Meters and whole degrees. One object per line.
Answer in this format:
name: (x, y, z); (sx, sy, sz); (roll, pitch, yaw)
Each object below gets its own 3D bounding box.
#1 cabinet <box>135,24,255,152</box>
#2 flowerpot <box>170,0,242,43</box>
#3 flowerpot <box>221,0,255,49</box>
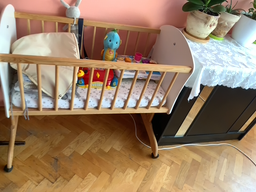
cabinet: (0.670, -0.040, 1.750); (0.940, 0.810, 0.520); (0, 42, -20)
flowerpot: (0.500, -0.570, 1.390); (0.270, 0.330, 0.250); (0, 42, -20)
flowerpot: (0.940, -0.550, 1.530); (0.340, 0.370, 0.160); (-1, 42, -21)
